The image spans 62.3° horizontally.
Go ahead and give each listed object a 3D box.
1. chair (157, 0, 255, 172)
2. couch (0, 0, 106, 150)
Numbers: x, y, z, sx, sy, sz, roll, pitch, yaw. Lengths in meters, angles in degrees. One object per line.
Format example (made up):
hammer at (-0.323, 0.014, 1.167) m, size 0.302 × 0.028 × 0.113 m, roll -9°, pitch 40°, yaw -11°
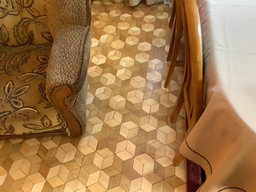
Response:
chair at (0.420, -0.010, 0.930) m, size 0.510 × 0.970 × 0.350 m, roll 2°, pitch 53°, yaw 4°
couch at (-0.650, -0.320, 1.240) m, size 0.900 × 0.910 × 0.950 m, roll -2°, pitch 54°, yaw 1°
